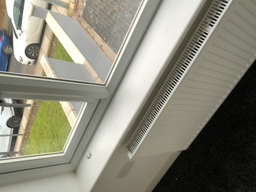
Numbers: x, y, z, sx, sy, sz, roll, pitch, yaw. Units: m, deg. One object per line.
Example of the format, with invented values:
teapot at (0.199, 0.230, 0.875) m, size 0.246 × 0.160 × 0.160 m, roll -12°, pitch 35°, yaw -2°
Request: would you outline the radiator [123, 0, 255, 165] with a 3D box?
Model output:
radiator at (0.530, -0.240, 1.000) m, size 0.090 × 0.610 × 1.430 m, roll 49°, pitch 122°, yaw 39°
